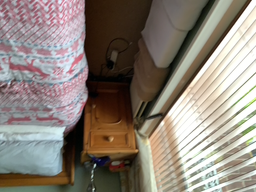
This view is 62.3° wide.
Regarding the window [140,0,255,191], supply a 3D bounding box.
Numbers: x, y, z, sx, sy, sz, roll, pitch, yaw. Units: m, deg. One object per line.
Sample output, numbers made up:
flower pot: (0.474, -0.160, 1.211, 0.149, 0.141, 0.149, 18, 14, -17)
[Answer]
window: (0.440, 0.630, 1.110, 0.120, 1.600, 2.030, 1, 147, -11)
